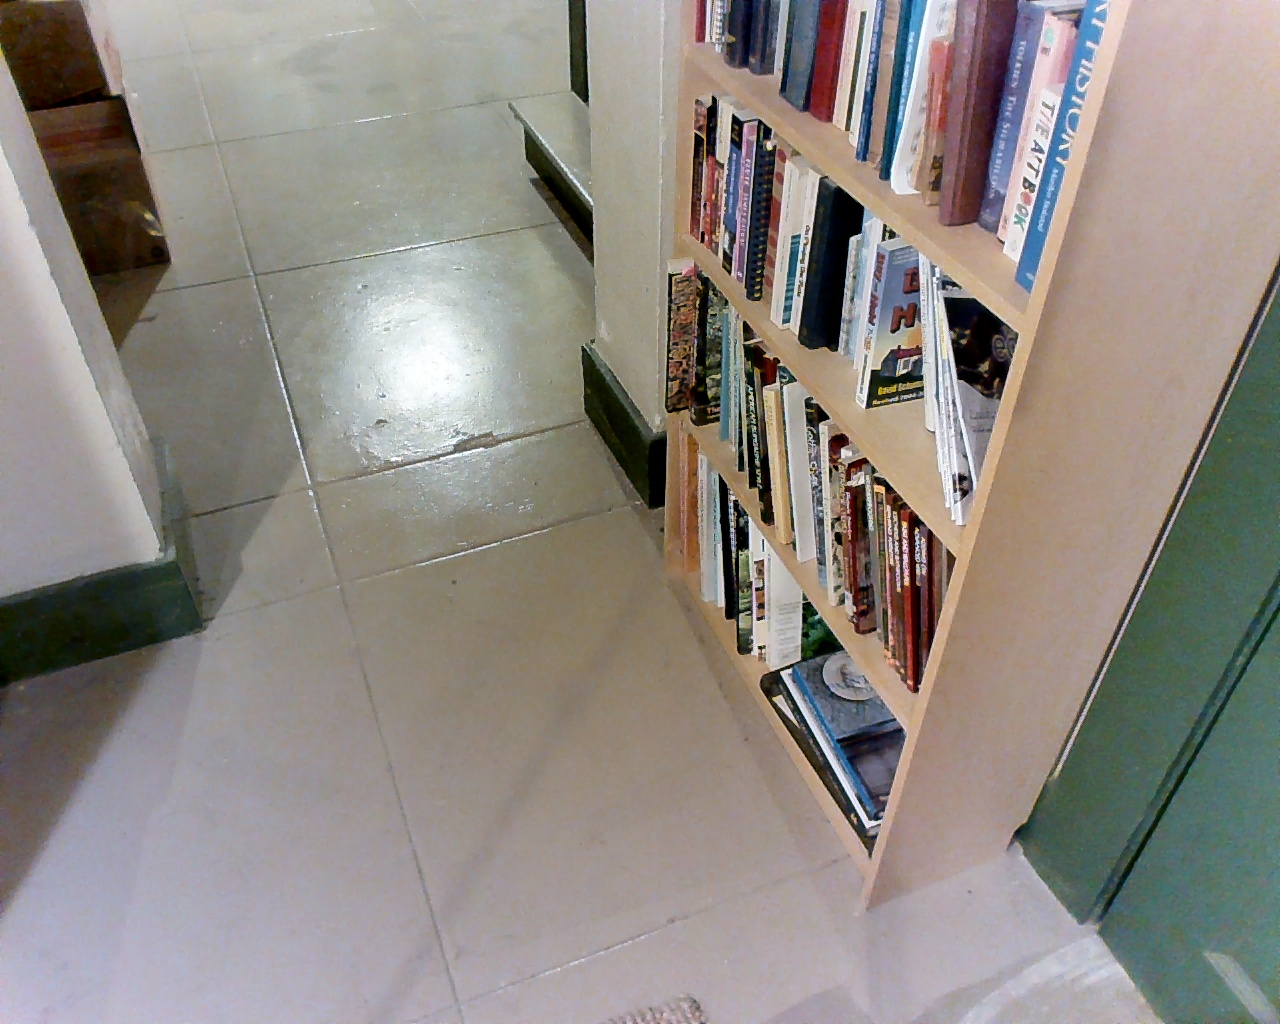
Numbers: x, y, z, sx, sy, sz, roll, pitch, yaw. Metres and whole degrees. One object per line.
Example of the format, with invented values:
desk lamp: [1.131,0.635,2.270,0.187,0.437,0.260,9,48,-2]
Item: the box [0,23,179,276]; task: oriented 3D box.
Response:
box: [-1.610,-1.050,3.100,0.360,0.500,0.480,-15,45,-16]
